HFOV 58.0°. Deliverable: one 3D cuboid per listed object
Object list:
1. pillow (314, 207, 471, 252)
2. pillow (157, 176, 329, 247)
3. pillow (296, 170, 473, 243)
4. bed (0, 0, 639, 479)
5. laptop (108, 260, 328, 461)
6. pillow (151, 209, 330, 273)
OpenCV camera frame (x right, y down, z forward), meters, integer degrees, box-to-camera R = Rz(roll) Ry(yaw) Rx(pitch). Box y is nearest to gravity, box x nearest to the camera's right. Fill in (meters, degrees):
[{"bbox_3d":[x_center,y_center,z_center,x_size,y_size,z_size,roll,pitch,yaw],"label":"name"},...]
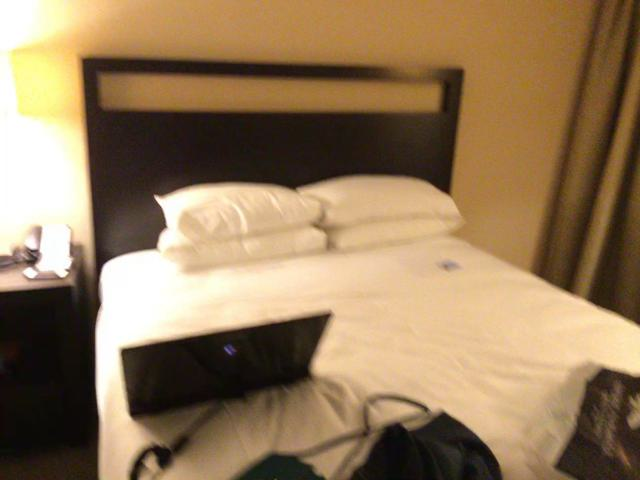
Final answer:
[{"bbox_3d":[0.300,-0.050,2.410,0.610,0.120,0.210,-3,14,-17],"label":"pillow"},{"bbox_3d":[-0.320,-0.130,2.310,0.620,0.200,0.380,-3,14,-17],"label":"pillow"},{"bbox_3d":[0.260,-0.160,2.480,0.640,0.230,0.390,-3,14,-17],"label":"pillow"},{"bbox_3d":[0.190,0.190,1.670,1.770,1.550,2.130,-3,14,-17],"label":"bed"},{"bbox_3d":[-0.250,0.240,1.340,0.420,0.260,0.430,-3,14,-17],"label":"laptop"},{"bbox_3d":[-0.330,-0.010,2.310,0.650,0.140,0.390,-3,14,-17],"label":"pillow"}]
